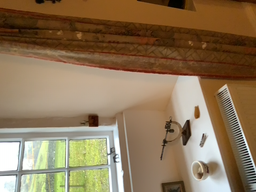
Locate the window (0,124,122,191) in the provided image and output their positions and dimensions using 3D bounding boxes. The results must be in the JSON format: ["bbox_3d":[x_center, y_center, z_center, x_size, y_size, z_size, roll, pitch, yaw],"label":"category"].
[{"bbox_3d":[-0.460,0.640,1.170,0.130,0.860,0.960,126,142,-59],"label":"window"}]
